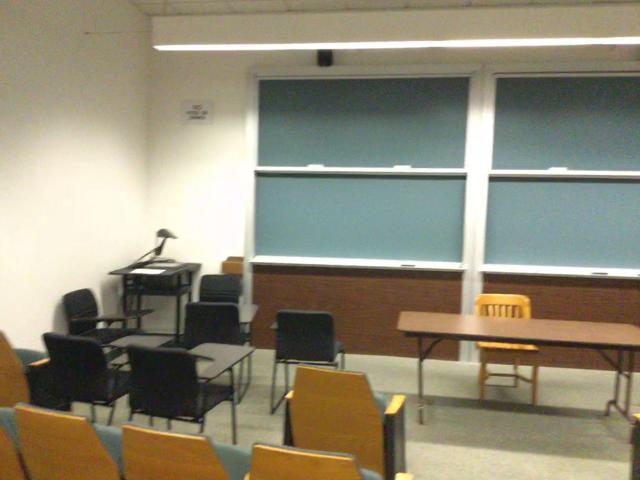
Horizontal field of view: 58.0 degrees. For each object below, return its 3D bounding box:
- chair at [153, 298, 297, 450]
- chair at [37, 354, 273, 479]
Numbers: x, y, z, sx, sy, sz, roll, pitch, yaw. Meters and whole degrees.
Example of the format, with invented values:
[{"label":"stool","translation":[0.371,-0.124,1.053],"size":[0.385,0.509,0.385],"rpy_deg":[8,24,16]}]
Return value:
[{"label":"chair","translation":[-0.620,0.870,3.980],"size":[0.690,0.800,0.720],"rpy_deg":[-1,5,17]},{"label":"chair","translation":[-0.740,0.910,2.690],"size":[0.720,0.490,0.730],"rpy_deg":[1,6,33]}]
